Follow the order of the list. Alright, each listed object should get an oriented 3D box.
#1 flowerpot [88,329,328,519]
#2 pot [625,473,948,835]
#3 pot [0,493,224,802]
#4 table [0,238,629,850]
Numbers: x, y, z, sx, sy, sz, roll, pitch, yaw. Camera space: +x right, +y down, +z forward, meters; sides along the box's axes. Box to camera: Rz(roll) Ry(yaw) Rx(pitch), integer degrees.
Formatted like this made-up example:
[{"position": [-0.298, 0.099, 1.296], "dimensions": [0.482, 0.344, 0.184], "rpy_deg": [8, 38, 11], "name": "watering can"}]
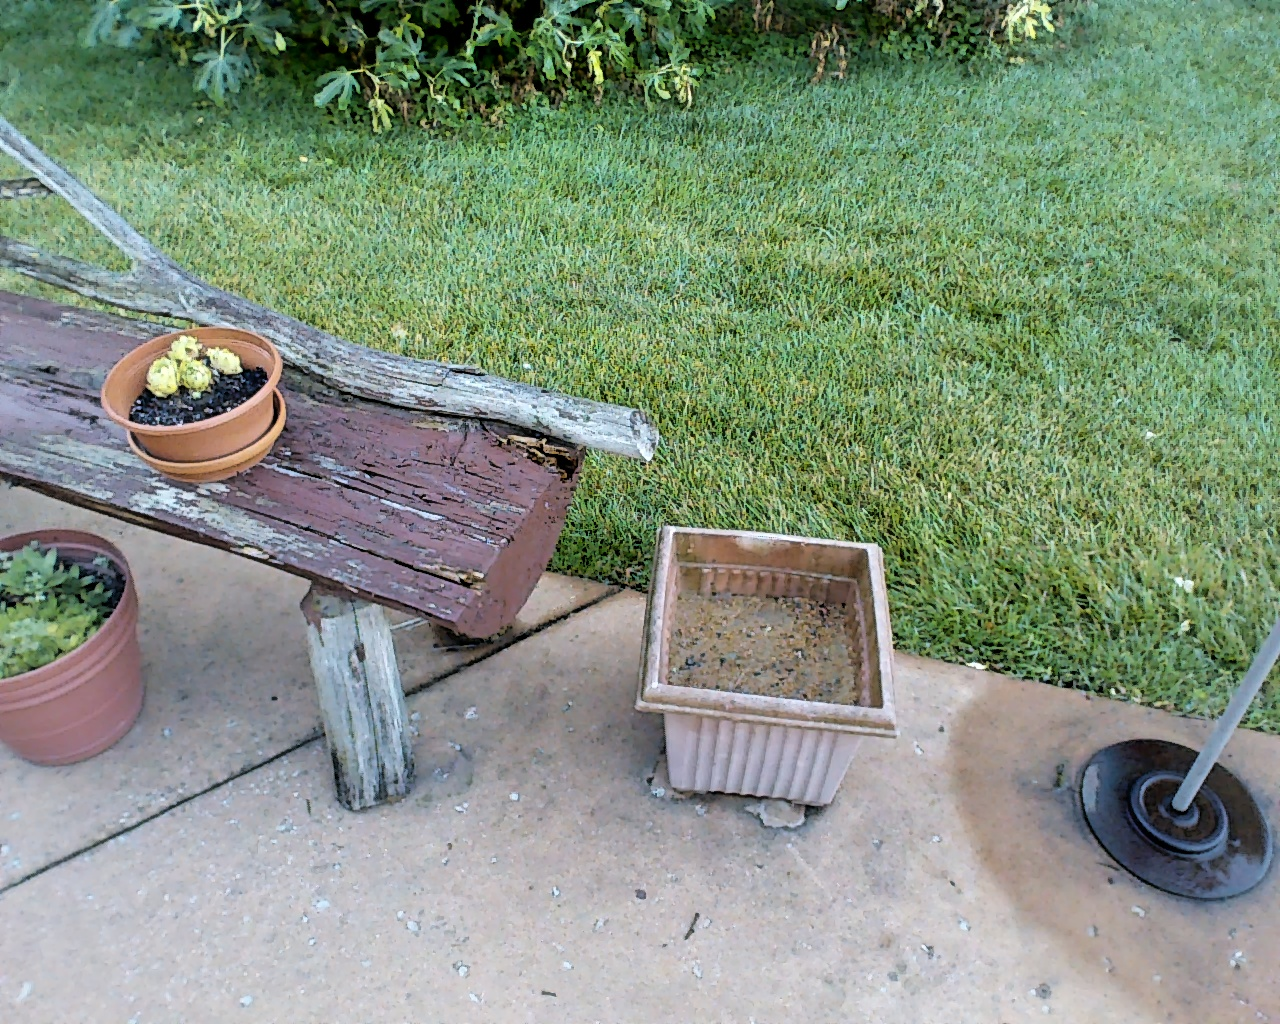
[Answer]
[{"position": [-0.650, -0.140, 1.650], "dimensions": [0.220, 0.140, 0.240], "rpy_deg": [12, 43, 13], "name": "flowerpot"}, {"position": [0.230, 0.230, 1.820], "dimensions": [0.460, 0.360, 0.440], "rpy_deg": [5, 42, 4], "name": "pot"}, {"position": [-1.010, 0.220, 1.840], "dimensions": [0.370, 0.280, 0.390], "rpy_deg": [7, 42, 7], "name": "pot"}, {"position": [-0.930, -0.050, 1.980], "dimensions": [1.770, 0.570, 0.490], "rpy_deg": [16, 44, 17], "name": "table"}]
